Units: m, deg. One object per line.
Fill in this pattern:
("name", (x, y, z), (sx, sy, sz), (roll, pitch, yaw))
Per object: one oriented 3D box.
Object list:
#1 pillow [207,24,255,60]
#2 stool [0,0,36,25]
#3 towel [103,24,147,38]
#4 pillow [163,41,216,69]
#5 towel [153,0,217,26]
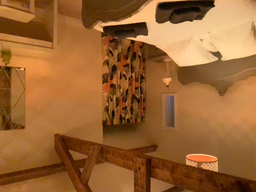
("pillow", (1.440, -0.670, 2.760), (0.510, 0.260, 0.590), (1, 178, -41))
("stool", (-1.360, -1.160, 2.500), (0.410, 0.460, 0.320), (1, 178, -44))
("towel", (-0.030, -0.780, 2.560), (0.500, 0.070, 0.210), (0, 179, 9))
("pillow", (0.950, -0.610, 3.280), (0.660, 0.270, 0.510), (1, 178, -40))
("towel", (0.530, -0.790, 2.040), (0.560, 0.120, 0.230), (0, 179, 9))
